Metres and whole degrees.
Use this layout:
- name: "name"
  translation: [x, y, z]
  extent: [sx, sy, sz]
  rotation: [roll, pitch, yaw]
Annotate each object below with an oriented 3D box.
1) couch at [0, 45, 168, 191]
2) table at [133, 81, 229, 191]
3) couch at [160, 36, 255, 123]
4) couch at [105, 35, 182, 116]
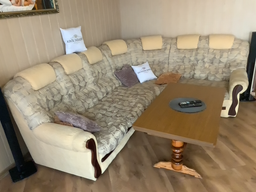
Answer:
- name: "couch"
  translation: [-0.380, 0.050, 2.670]
  extent: [1.230, 0.990, 1.850]
  rotation: [8, 26, 25]
- name: "table"
  translation: [0.640, 0.350, 2.330]
  extent: [0.680, 0.600, 1.190]
  rotation: [9, 26, 27]
- name: "couch"
  translation: [1.250, -0.360, 3.380]
  extent: [1.190, 0.990, 1.040]
  rotation: [8, 26, 25]
- name: "couch"
  translation: [0.200, -0.470, 3.810]
  extent: [0.830, 0.980, 1.430]
  rotation: [-10, 24, -15]
